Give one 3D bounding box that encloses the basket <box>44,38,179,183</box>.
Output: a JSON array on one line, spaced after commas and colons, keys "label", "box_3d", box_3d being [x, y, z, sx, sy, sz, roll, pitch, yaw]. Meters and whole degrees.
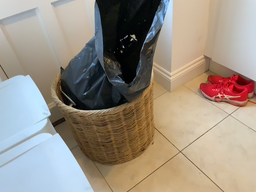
[{"label": "basket", "box_3d": [-0.090, 0.040, 1.170, 0.450, 0.410, 0.550, -28, 46, -19]}]
